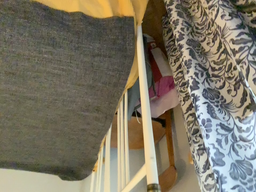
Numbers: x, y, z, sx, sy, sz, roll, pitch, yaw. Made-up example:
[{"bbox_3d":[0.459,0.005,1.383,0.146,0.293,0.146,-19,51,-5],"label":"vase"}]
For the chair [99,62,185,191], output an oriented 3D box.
[{"bbox_3d":[0.040,0.210,1.400,0.370,0.770,0.380,8,140,-13],"label":"chair"}]
